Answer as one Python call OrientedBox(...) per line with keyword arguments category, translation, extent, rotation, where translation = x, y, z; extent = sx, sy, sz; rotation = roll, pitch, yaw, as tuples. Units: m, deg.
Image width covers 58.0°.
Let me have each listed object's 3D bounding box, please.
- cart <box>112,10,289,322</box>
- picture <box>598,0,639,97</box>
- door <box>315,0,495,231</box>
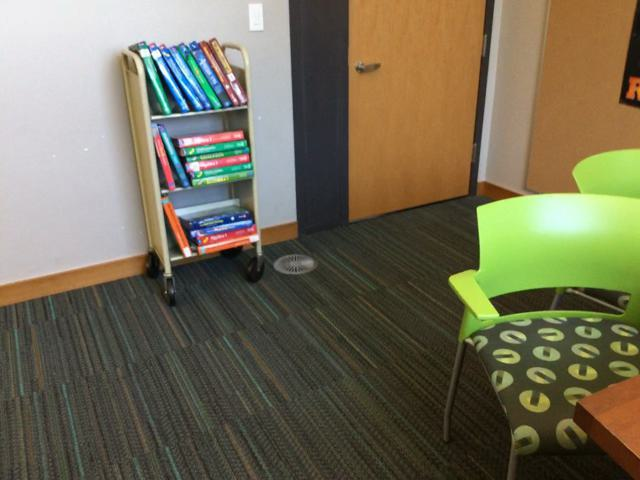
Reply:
OrientedBox(category="cart", translation=(-0.500, -0.340, 2.520), extent=(0.540, 1.220, 0.460), rotation=(-11, 24, -22))
OrientedBox(category="picture", translation=(1.410, -0.900, 2.390), extent=(0.100, 0.600, 0.430), rotation=(-11, 24, -22))
OrientedBox(category="door", translation=(0.480, -0.940, 3.200), extent=(1.010, 1.640, 0.200), rotation=(-12, 25, -24))
